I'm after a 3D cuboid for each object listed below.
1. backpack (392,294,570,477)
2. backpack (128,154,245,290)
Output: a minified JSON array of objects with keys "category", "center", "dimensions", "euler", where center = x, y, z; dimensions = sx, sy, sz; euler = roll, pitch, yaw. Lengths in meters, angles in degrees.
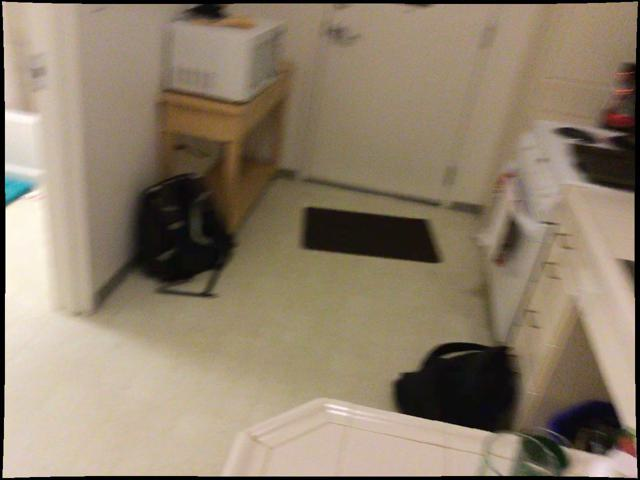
[{"category":"backpack","center":[0.539,0.490,2.050],"dimensions":[0.490,0.280,0.490],"euler":[12,30,4]},{"category":"backpack","center":[-0.589,-0.090,2.590],"dimensions":[0.380,0.420,0.380],"euler":[12,30,4]}]
